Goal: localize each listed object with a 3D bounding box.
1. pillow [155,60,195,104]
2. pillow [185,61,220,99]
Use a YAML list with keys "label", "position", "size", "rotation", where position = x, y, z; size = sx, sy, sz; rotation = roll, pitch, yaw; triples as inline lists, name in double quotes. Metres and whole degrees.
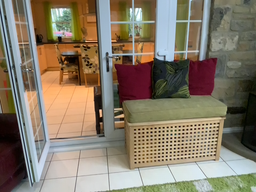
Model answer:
- label: "pillow"
  position: [0.500, -0.150, 2.270]
  size: [0.390, 0.430, 0.140]
  rotation: [-3, 4, -6]
- label: "pillow"
  position: [0.830, -0.180, 2.390]
  size: [0.310, 0.400, 0.130]
  rotation: [-2, 18, -7]
